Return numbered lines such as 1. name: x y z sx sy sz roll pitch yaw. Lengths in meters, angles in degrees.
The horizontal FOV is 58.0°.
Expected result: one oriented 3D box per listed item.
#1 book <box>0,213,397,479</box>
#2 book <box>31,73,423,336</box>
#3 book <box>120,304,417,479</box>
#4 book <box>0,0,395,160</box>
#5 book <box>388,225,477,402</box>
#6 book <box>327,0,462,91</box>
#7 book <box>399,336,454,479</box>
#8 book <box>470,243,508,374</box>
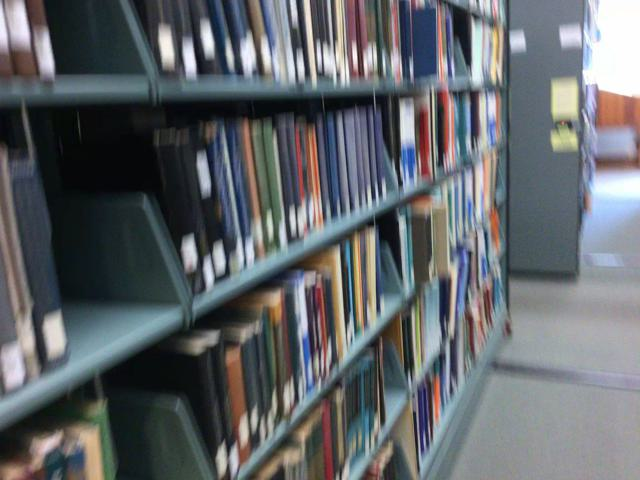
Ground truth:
1. book: -0.110 0.200 1.140 0.220 0.330 1.030 1 13 24
2. book: -0.030 -0.170 1.300 0.220 0.330 1.210 1 13 24
3. book: -0.030 0.450 1.320 0.250 0.300 0.960 1 13 24
4. book: -0.370 -0.420 1.220 0.790 0.420 0.960 1 13 24
5. book: 0.440 0.200 2.080 0.090 0.330 0.960 1 13 24
6. book: 0.250 -0.620 1.730 0.230 0.310 0.610 1 13 24
7. book: 0.380 0.550 1.990 0.050 0.250 0.550 1 13 24
8. book: 0.870 0.310 2.930 0.070 0.420 0.800 1 13 24
